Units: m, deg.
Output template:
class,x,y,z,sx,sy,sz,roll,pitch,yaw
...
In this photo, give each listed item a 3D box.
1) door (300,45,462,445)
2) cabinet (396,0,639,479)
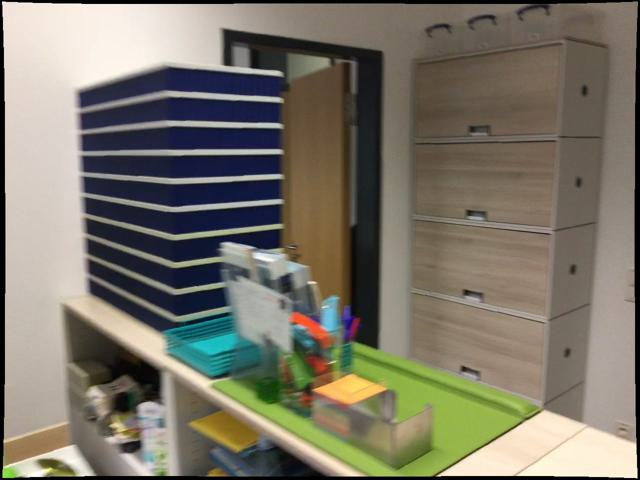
class,x,y,z,sx,sy,sz,roll,pitch,yaw
door,0.320,0.010,3.250,0.570,2.002,0.640,-8,13,-34
cabinet,0.909,0.020,2.860,0.550,2.192,0.920,-8,13,-34
